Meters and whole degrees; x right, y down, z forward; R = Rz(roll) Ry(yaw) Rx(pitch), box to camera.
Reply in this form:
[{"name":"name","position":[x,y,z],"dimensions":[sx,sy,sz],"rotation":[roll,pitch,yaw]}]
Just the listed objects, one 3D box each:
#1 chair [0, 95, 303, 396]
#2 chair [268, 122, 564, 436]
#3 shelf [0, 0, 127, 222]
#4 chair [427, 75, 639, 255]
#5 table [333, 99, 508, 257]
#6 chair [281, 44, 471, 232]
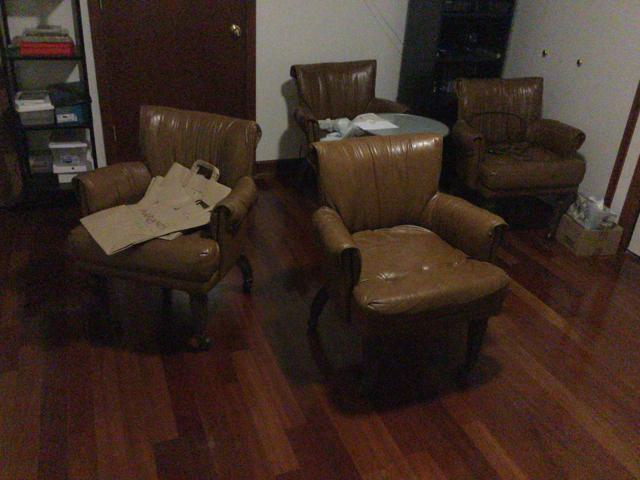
[{"name":"chair","position":[-0.590,-0.050,2.270],"dimensions":[0.770,0.780,0.780],"rotation":[13,29,20]},{"name":"chair","position":[0.260,0.080,2.080],"dimensions":[0.720,0.790,0.690],"rotation":[-8,29,-19]},{"name":"shelf","position":[-1.350,-0.910,2.910],"dimensions":[0.530,1.540,0.460],"rotation":[-7,29,-17]},{"name":"chair","position":[1.060,-0.430,3.060],"dimensions":[0.700,0.730,0.700],"rotation":[-3,28,-10]},{"name":"table","position":[0.490,-0.360,3.080],"dimensions":[0.650,0.610,0.610],"rotation":[-7,29,-17]},{"name":"chair","position":[0.260,-0.630,3.330],"dimensions":[0.790,0.830,0.750],"rotation":[-8,29,-18]}]
